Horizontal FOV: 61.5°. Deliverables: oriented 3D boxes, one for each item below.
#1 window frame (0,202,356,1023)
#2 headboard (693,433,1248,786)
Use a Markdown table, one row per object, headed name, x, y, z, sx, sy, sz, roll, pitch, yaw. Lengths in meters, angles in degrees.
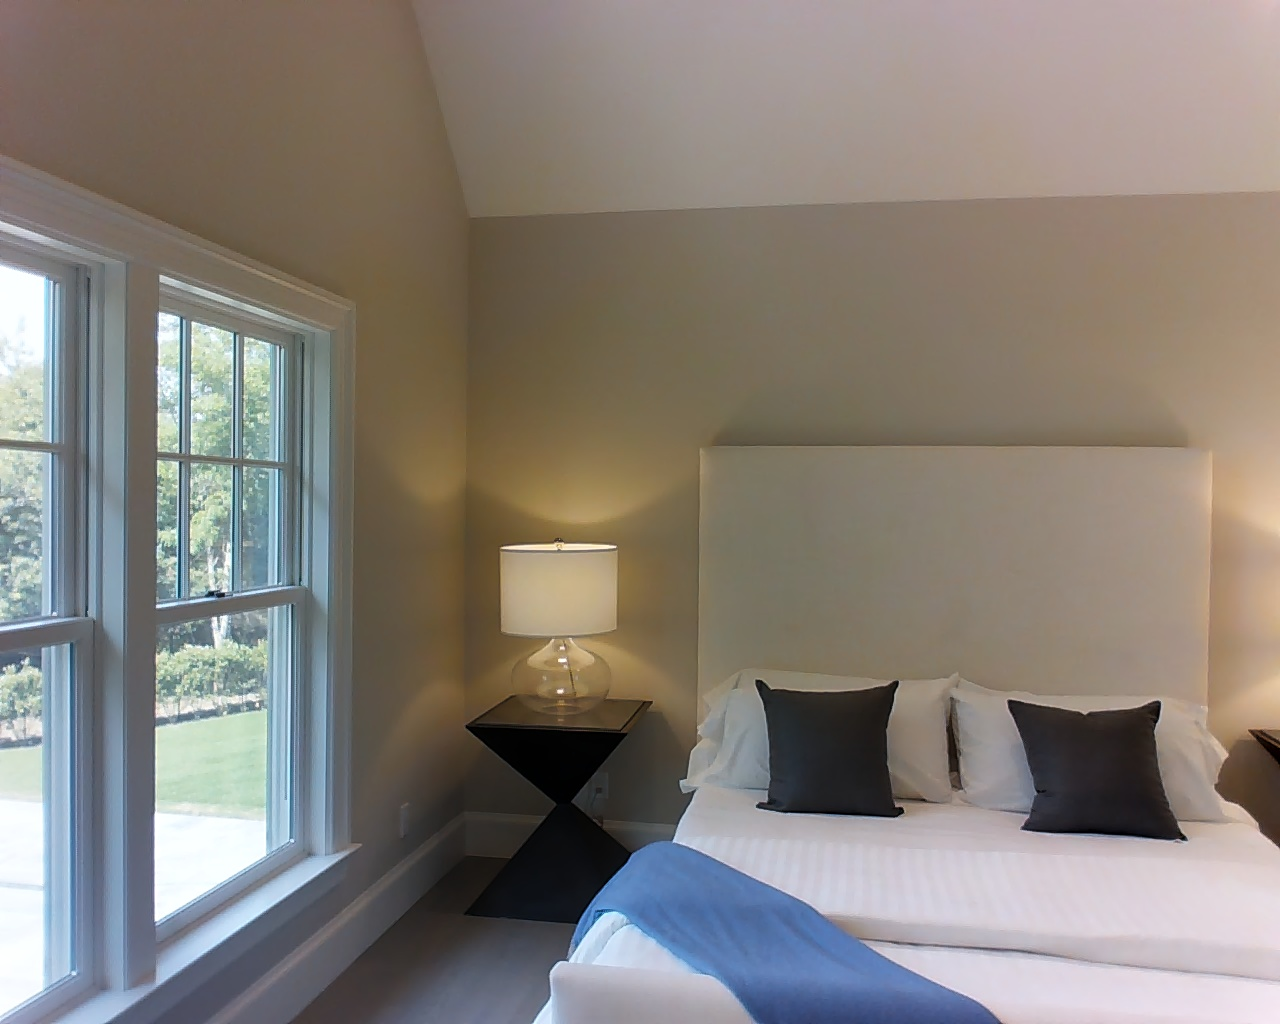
| name | x | y | z | sx | sy | sz | roll | pitch | yaw |
| --- | --- | --- | --- | --- | --- | --- | --- | --- | --- |
| window frame | -1.200 | 0.350 | 2.530 | 0.220 | 1.850 | 1.880 | 1 | 0 | 11 |
| headboard | 1.250 | 0.350 | 4.260 | 2.060 | 1.310 | 0.150 | 1 | 0 | 11 |
